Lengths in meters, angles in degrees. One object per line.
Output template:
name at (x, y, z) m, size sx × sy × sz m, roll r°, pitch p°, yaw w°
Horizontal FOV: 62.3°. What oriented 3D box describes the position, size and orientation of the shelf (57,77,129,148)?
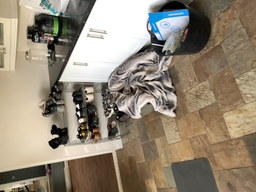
shelf at (-0.490, 0.200, 2.910) m, size 0.300 × 0.790 × 0.860 m, roll -39°, pitch 59°, yaw 52°
